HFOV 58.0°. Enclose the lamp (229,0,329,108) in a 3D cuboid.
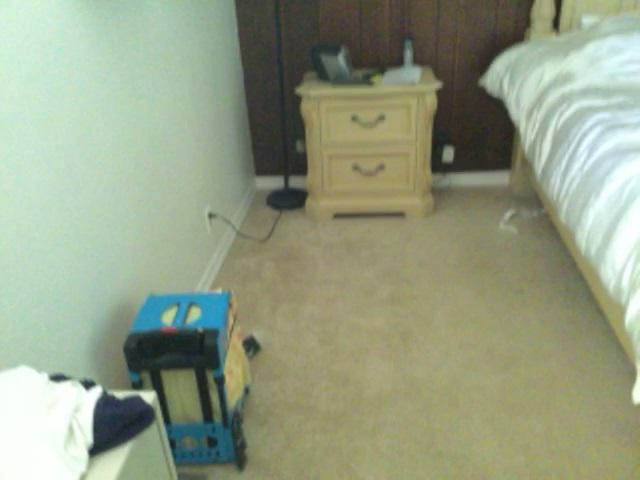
[{"bbox_3d":[-0.230,-1.280,2.860,0.410,1.160,0.270,-4,27,7],"label":"lamp"}]
